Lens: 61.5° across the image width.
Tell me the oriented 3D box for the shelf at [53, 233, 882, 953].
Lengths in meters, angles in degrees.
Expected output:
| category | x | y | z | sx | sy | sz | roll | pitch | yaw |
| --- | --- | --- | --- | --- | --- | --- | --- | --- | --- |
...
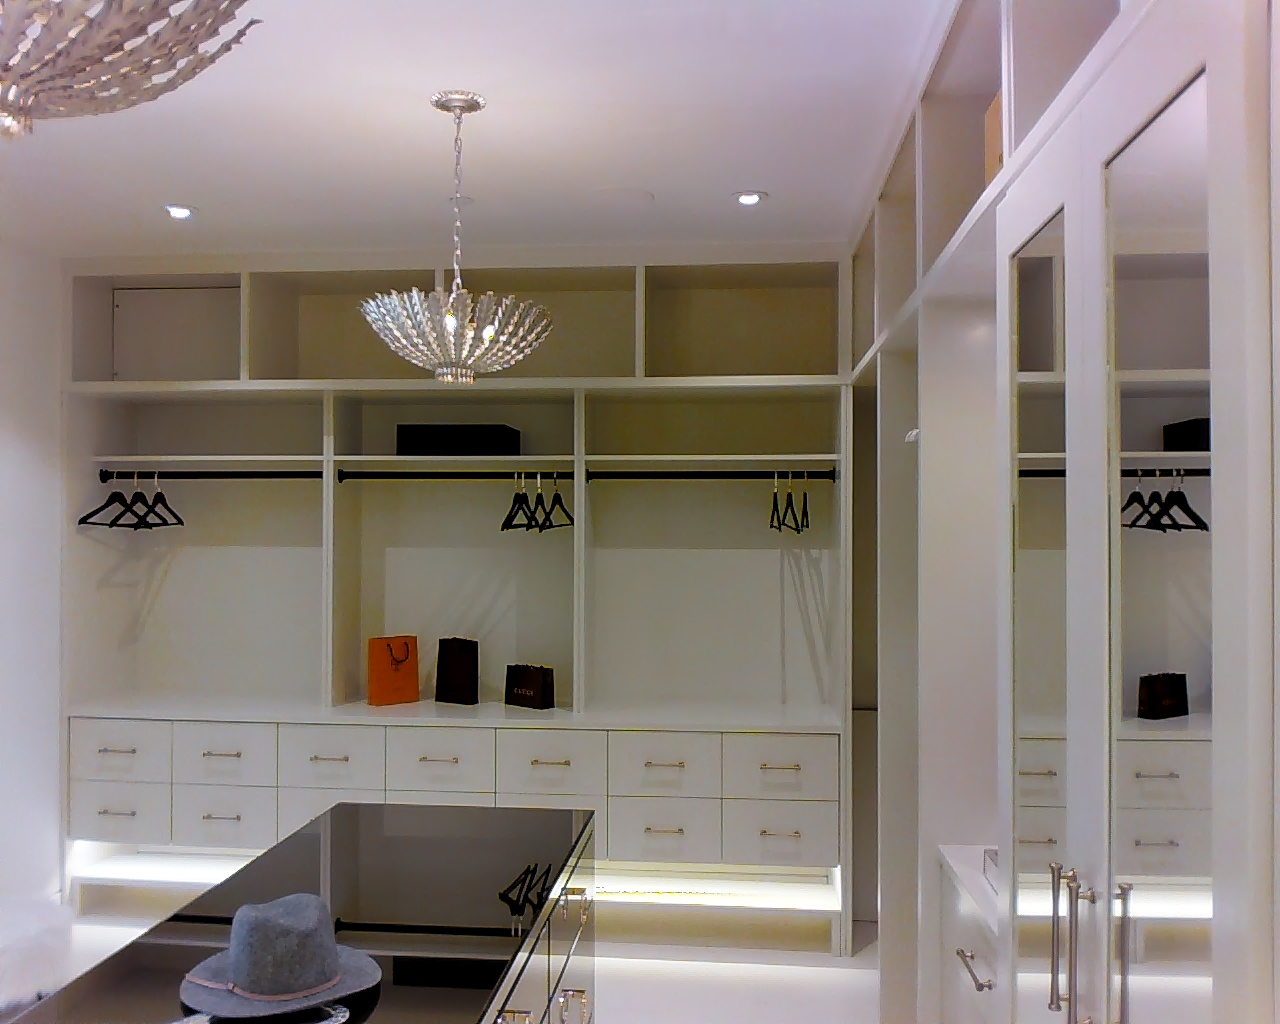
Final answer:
| category | x | y | z | sx | sy | sz | roll | pitch | yaw |
| --- | --- | --- | --- | --- | --- | --- | --- | --- | --- |
| shelf | -0.720 | 0.310 | 4.650 | 3.390 | 2.800 | 0.630 | 0 | -1 | 5 |
